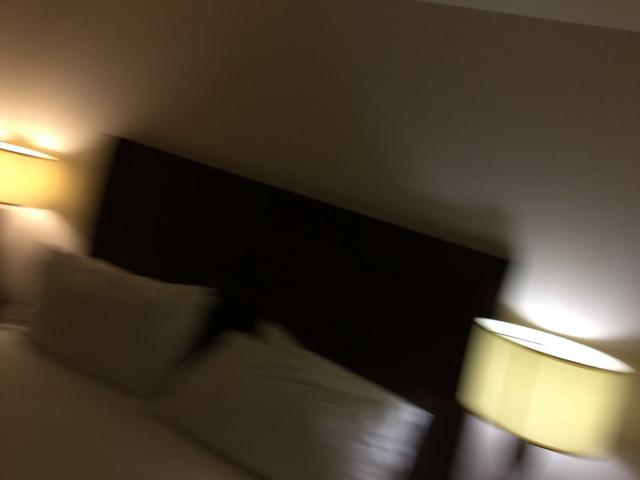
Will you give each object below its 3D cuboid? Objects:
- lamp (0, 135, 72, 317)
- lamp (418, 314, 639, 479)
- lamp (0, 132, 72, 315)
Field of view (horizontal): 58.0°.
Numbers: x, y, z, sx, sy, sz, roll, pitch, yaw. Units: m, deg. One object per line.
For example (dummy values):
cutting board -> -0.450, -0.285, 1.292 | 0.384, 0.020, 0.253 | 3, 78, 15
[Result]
lamp -> -1.570, -0.080, 2.690 | 0.380, 0.800, 0.450 | 20, 6, 25
lamp -> 0.570, 0.660, 1.700 | 0.420, 0.750, 0.430 | 20, 6, 25
lamp -> -1.610, -0.100, 2.730 | 0.450, 0.800, 0.450 | 20, 6, 25
